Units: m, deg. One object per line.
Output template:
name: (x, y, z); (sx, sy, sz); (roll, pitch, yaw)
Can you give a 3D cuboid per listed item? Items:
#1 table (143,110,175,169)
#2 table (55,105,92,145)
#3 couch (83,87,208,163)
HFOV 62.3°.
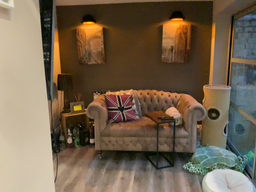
table: (0.400, 0.560, 2.860); (0.260, 0.650, 0.390); (-5, 13, -20)
table: (-0.940, 0.470, 3.650); (0.480, 0.500, 0.430); (-9, 15, -34)
couch: (0.240, 0.370, 3.250); (1.590, 0.860, 0.940); (1, 12, 4)
